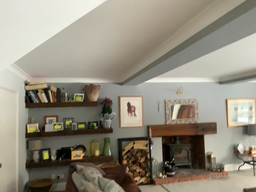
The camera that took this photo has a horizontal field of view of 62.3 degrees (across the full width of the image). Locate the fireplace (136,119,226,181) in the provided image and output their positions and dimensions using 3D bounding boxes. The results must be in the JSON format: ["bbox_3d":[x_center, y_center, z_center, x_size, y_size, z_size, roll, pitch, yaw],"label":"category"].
[{"bbox_3d":[1.280,1.260,5.380,1.880,1.250,1.020,-1,-4,-13],"label":"fireplace"}]
